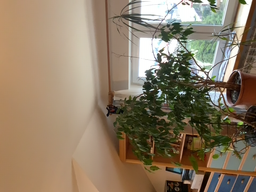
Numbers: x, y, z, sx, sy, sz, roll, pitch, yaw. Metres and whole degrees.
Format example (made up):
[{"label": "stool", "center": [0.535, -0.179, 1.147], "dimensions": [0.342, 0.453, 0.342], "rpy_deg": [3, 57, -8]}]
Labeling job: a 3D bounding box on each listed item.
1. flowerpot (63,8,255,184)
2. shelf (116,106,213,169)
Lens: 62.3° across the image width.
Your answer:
[{"label": "flowerpot", "center": [0.750, 0.100, 1.790], "dimensions": [1.120, 2.060, 1.000], "rpy_deg": [83, -167, -62]}, {"label": "shelf", "center": [0.440, 0.540, 2.820], "dimensions": [0.420, 1.120, 0.600], "rpy_deg": [-78, -10, -55]}]
